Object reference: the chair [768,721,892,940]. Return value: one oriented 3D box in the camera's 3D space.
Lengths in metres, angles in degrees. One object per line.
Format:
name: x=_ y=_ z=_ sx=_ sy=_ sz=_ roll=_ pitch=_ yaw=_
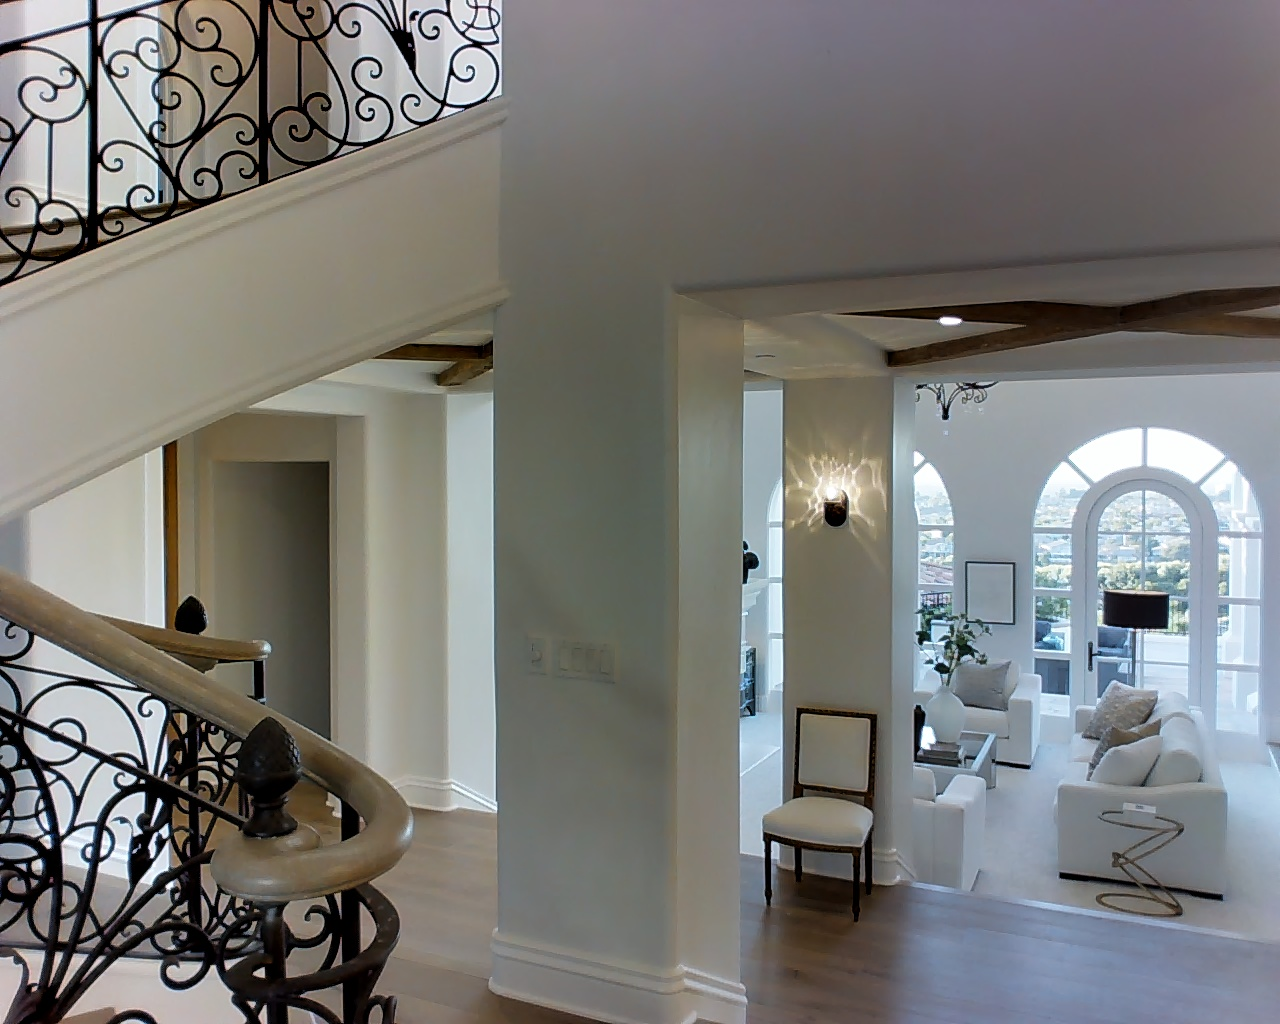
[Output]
chair: x=0.980 y=1.590 z=5.480 sx=0.490 sy=0.900 sz=0.550 roll=1 pitch=1 yaw=26
